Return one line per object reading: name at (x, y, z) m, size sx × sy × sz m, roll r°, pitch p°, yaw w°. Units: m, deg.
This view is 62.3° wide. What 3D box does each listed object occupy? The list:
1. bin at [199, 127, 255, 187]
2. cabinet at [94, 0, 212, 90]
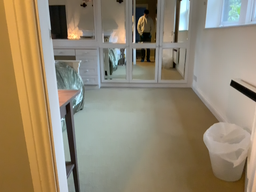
bin at (0.690, 0.410, 1.490) m, size 0.290 × 0.280 × 0.280 m, roll 2°, pitch 17°, yaw 7°
cabinet at (0.400, -1.290, 3.670) m, size 1.910 × 2.360 × 0.310 m, roll 1°, pitch 17°, yaw 4°
